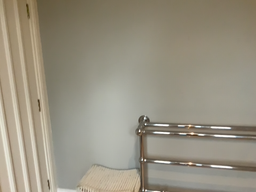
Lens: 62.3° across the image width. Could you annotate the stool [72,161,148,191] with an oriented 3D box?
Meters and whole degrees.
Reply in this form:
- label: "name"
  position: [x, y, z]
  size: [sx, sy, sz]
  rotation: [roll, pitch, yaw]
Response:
- label: "stool"
  position: [-0.120, 0.840, 1.700]
  size: [0.510, 0.450, 0.340]
  rotation: [2, 13, 13]
